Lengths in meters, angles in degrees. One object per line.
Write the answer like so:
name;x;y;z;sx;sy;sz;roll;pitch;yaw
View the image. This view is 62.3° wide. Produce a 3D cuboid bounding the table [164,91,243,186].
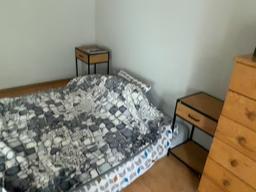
table;0.650;0.360;1.920;0.370;0.630;0.420;-15;32;-34
